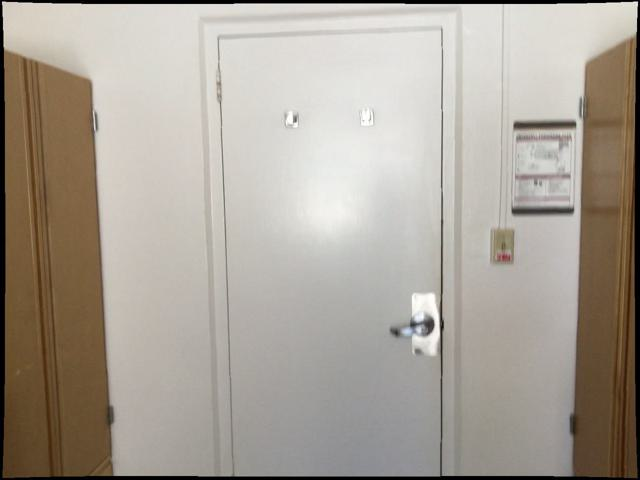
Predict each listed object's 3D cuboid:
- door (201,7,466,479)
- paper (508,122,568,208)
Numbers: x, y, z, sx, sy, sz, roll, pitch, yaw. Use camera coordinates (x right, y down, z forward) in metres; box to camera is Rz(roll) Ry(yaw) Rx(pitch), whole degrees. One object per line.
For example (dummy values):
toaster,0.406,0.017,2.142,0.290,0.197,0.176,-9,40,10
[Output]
door,0.050,0.220,2.120,0.909,2.012,0.090,0,6,6
paper,0.759,-0.260,2.020,0.180,0.290,0.060,0,6,6
